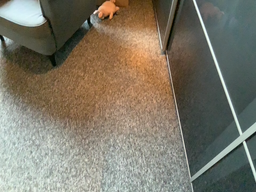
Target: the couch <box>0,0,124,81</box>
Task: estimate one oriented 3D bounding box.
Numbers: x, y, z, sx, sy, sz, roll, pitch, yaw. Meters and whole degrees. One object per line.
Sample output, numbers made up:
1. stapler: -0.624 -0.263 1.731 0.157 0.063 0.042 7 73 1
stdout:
1. couch: -0.580 -0.870 1.420 0.780 0.970 0.930 25 59 13
